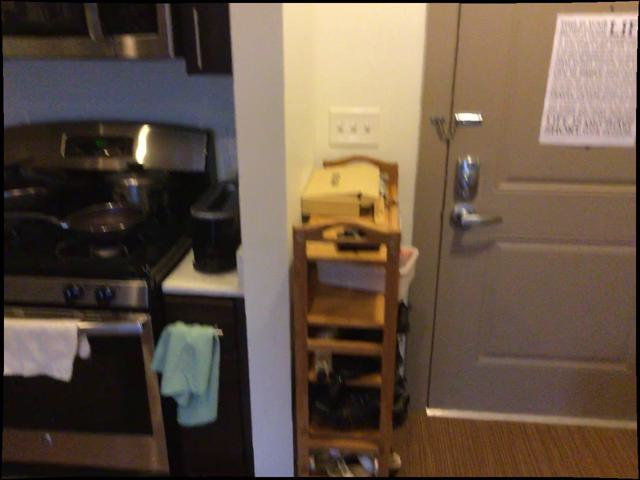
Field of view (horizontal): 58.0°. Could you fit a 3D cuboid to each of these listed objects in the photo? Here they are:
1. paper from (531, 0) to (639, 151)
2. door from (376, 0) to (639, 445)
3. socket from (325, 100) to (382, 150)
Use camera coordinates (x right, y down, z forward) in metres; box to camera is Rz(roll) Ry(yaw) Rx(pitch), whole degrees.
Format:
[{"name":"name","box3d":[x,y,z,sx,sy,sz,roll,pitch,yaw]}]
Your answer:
[{"name":"paper","box3d":[0.878,-0.511,1.780,0.339,0.431,0.040,7,23,2]},{"name":"door","box3d":[0.888,-0.241,1.870,1.127,2.054,0.110,7,23,2]},{"name":"socket","box3d":[0.110,-0.381,1.910,0.170,0.140,0.030,7,23,2]}]
